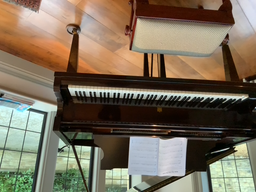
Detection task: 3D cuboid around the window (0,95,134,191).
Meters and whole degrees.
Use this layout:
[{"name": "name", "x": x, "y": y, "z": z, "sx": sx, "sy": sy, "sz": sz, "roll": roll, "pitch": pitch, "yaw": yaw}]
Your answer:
[{"name": "window", "x": -0.770, "y": 1.070, "z": 2.510, "sx": 0.140, "sy": 1.730, "sz": 2.410, "roll": -18, "pitch": 151, "yaw": 38}]
